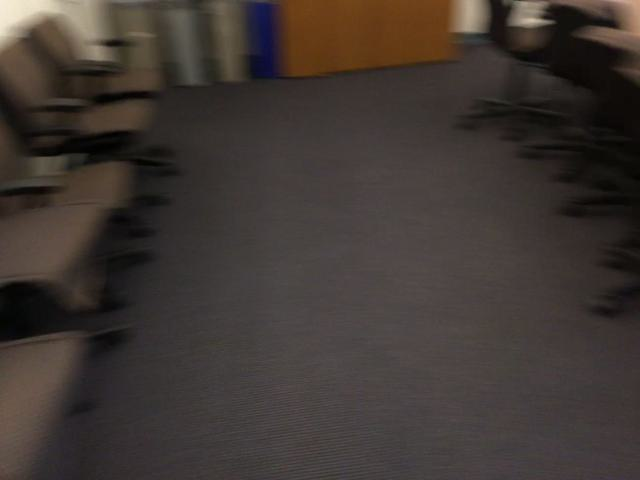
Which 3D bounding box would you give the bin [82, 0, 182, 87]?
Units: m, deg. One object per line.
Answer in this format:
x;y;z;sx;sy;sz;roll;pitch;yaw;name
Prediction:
-1.560;-1.830;4.840;0.510;0.870;0.510;-10;35;3;bin

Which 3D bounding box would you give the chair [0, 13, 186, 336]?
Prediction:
-1.060;-0.290;2.390;0.650;0.920;0.860;-10;35;3;chair

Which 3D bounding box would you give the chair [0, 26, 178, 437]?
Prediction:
-1.010;-0.080;1.950;0.630;0.960;1.020;-10;28;3;chair
